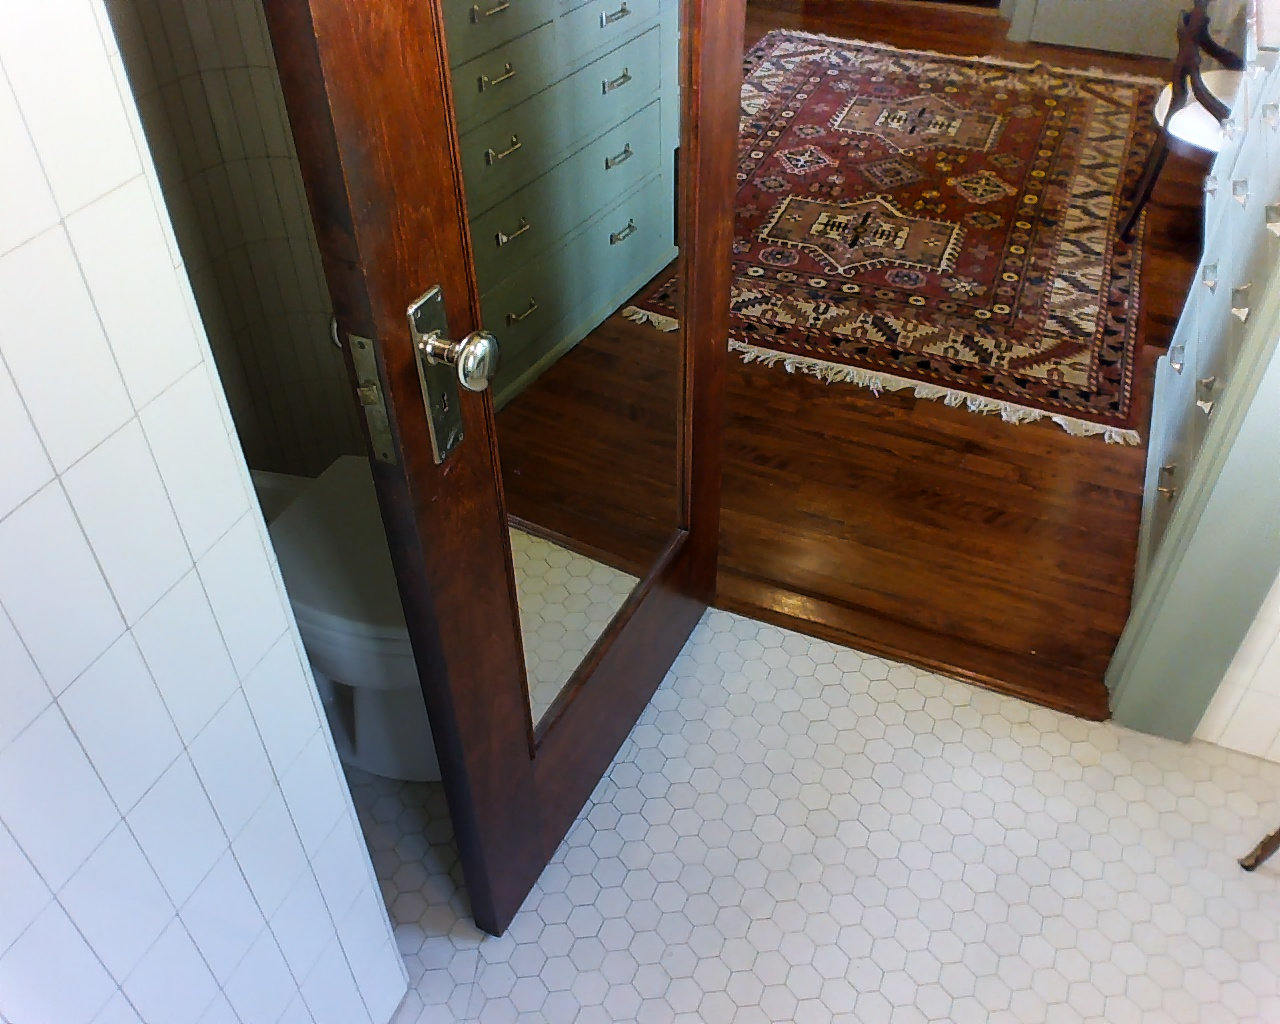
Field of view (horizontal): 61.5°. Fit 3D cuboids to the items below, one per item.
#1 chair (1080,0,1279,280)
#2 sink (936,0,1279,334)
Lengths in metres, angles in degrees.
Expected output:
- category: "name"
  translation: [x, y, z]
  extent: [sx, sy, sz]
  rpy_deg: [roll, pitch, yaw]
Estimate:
- category: "chair"
  translation: [1.670, -1.260, 3.010]
  extent: [0.570, 0.930, 0.640]
  rpy_deg: [13, 44, 15]
- category: "sink"
  translation: [1.270, -1.080, 2.890]
  extent: [0.610, 0.780, 0.790]
  rpy_deg: [18, 46, 20]
